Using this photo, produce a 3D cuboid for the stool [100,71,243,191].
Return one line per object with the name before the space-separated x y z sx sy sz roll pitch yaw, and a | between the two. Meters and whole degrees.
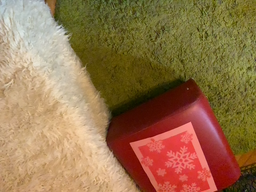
stool | 0.240 0.270 1.210 0.530 0.360 0.580 -22 113 12
